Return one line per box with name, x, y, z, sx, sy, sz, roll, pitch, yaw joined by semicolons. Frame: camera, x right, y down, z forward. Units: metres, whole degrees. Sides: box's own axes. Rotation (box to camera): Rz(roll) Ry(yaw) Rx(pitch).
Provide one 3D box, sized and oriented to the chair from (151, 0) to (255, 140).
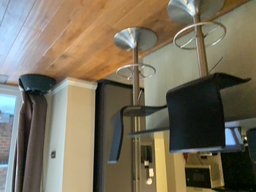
chair;0.520;-0.210;1.450;0.490;0.960;0.470;10;161;-34
